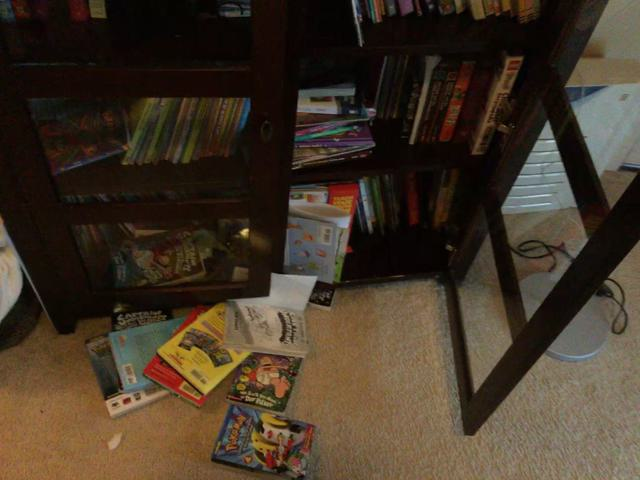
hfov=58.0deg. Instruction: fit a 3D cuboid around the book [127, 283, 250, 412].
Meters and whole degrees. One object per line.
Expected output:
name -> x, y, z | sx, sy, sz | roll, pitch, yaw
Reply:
book -> -0.280, 0.230, 1.270 | 0.140, 0.090, 0.230 | 29, 52, 17
